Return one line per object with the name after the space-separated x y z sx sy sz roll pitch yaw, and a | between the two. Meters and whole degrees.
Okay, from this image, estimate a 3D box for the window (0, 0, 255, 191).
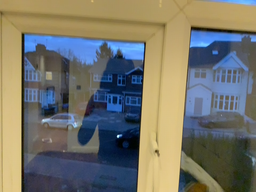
0.130 -0.070 0.630 0.990 1.140 0.080 3 6 -5 | window
